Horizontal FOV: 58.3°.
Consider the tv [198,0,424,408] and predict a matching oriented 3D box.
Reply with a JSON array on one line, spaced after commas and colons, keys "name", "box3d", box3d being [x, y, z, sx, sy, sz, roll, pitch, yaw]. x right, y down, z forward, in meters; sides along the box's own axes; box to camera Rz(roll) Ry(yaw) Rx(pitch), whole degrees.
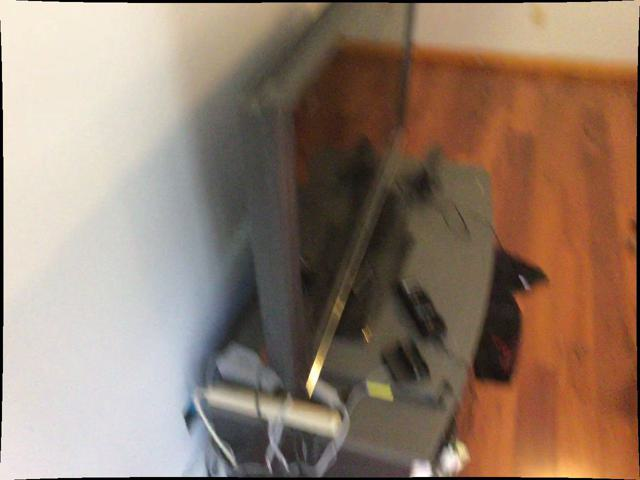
[{"name": "tv", "box3d": [0.070, -0.290, 1.420, 0.180, 0.710, 1.150, 11, 43, 11]}]

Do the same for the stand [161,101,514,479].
[{"name": "stand", "box3d": [0.170, 0.200, 1.820, 0.679, 0.630, 1.320, 11, 43, 11]}]
